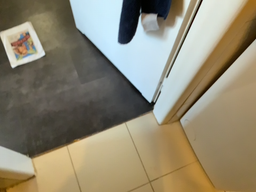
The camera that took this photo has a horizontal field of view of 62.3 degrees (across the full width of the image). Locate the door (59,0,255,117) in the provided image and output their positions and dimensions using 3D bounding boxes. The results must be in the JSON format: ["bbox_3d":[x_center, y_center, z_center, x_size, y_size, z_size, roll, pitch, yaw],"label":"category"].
[{"bbox_3d":[0.000,-0.560,0.420,0.840,1.980,0.090,42,71,13],"label":"door"}]
